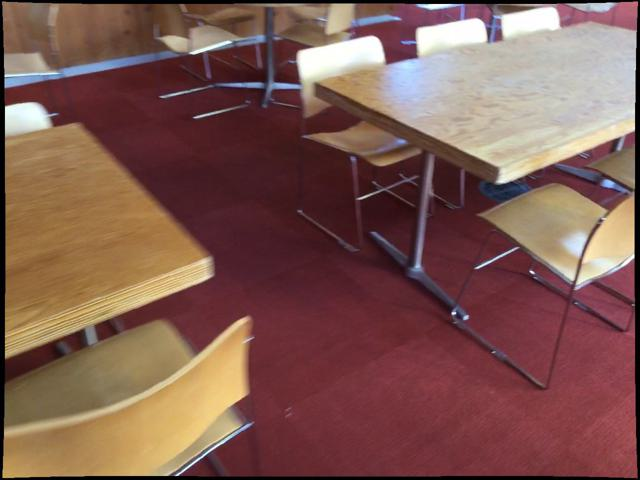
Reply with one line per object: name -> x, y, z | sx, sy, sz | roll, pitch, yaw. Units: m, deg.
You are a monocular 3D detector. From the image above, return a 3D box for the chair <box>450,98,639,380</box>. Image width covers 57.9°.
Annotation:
chair -> 0.839, -0.030, 1.900 | 0.490, 0.640, 0.530 | -17, 39, -26

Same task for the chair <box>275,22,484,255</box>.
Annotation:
chair -> 0.220, -0.480, 2.570 | 0.570, 0.730, 0.650 | -21, 41, -29

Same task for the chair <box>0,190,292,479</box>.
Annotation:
chair -> -0.420, 0.380, 1.300 | 0.510, 0.720, 0.520 | -21, 41, -29
